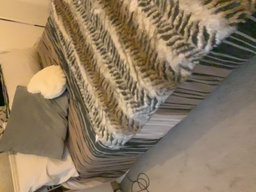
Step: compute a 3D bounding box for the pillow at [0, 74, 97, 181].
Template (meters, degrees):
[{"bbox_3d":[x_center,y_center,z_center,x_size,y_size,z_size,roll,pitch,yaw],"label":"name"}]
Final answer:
[{"bbox_3d":[-0.730,0.240,1.760,0.470,0.580,0.610,7,67,57],"label":"pillow"}]
